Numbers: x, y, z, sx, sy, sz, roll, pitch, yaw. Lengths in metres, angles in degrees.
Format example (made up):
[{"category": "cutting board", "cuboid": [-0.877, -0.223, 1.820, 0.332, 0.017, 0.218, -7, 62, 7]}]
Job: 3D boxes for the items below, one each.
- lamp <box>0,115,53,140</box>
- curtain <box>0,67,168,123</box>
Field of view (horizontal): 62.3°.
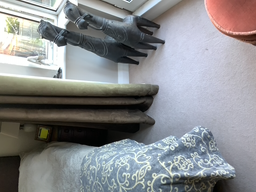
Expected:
[{"category": "lamp", "cuboid": [-1.190, 0.360, 2.470, 0.330, 0.510, 0.250, -12, 76, 53]}, {"category": "curtain", "cuboid": [-0.660, 0.030, 1.530, 0.450, 2.200, 0.290, -17, 72, 53]}]
